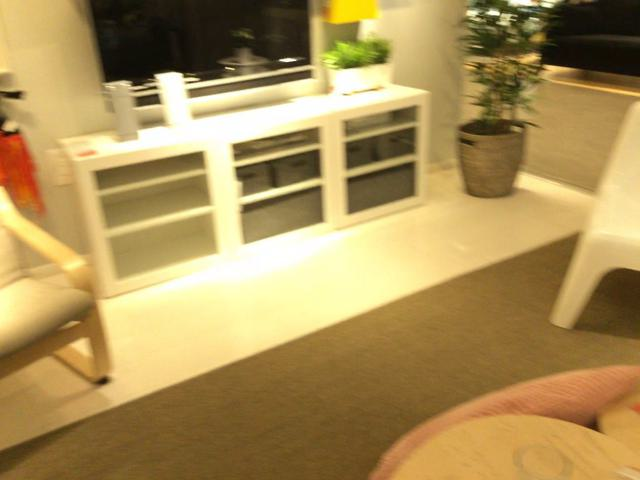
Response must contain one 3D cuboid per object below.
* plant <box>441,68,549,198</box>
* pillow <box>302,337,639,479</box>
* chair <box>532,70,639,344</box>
[{"bbox_3d":[0.970,-0.610,3.240,0.460,0.570,0.420,-9,24,2],"label":"plant"},{"bbox_3d":[0.330,0.500,1.310,0.650,0.550,0.210,-17,69,-17],"label":"pillow"},{"bbox_3d":[1.280,-0.180,2.140,0.830,0.710,0.970,3,27,26],"label":"chair"}]
